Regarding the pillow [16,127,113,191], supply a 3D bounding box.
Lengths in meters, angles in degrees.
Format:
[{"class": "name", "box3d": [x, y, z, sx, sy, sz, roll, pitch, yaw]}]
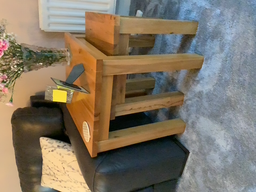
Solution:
[{"class": "pillow", "box3d": [-0.460, 0.550, 1.580, 0.500, 0.450, 0.180, -44, 40, 5]}]

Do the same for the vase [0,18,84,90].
[{"class": "vase", "box3d": [-0.540, -0.250, 1.160, 0.400, 0.480, 0.260, 43, 133, 50]}]

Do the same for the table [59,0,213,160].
[{"class": "table", "box3d": [-0.030, -0.150, 1.270, 0.600, 0.600, 0.680, 42, 132, 50]}]
